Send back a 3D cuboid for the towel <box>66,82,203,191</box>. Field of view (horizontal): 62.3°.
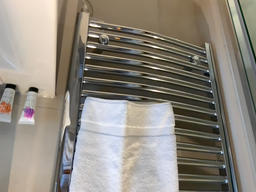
[{"bbox_3d":[0.010,0.150,0.520,0.290,0.300,0.150,7,164,-15],"label":"towel"}]
